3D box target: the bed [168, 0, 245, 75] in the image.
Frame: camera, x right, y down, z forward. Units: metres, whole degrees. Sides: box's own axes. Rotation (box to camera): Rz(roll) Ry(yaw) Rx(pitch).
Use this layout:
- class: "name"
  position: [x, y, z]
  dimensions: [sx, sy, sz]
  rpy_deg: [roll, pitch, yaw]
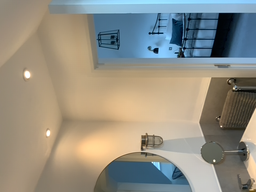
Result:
- class: "bed"
  position: [1.440, -1.740, 4.430]
  dimensions: [2.180, 0.760, 1.640]
  rpy_deg: [-87, -3, -49]
